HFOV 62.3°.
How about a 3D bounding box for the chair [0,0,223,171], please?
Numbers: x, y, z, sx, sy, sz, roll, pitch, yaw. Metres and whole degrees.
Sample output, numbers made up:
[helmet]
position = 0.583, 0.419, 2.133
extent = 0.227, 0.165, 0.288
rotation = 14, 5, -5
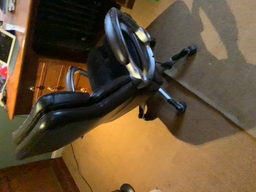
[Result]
[chair]
position = -0.130, -0.120, 1.270
extent = 0.710, 1.000, 0.720
rotation = -36, 65, 41
